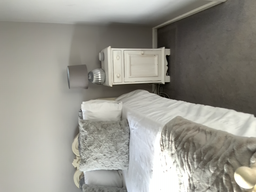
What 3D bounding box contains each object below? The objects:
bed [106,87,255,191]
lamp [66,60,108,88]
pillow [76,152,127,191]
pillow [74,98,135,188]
[{"bbox_3d":[0.390,0.810,1.780,2.090,0.670,1.580,-159,67,-70],"label":"bed"},{"bbox_3d":[-0.450,-0.240,2.310,0.290,0.400,0.280,-162,70,-71],"label":"lamp"},{"bbox_3d":[-0.310,1.090,2.360,0.530,0.460,0.720,-164,72,-71],"label":"pillow"},{"bbox_3d":[-0.280,0.400,2.180,0.790,0.450,0.640,-159,67,-70],"label":"pillow"}]
